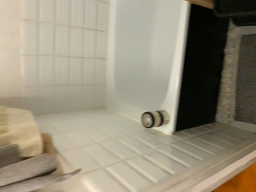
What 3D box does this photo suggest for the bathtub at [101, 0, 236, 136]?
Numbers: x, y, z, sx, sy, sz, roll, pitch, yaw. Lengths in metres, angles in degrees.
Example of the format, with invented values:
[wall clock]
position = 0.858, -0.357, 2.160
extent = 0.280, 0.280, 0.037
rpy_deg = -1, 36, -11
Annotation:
[bathtub]
position = 0.270, -0.520, 1.500
extent = 0.680, 0.560, 1.350
rpy_deg = 17, 107, 47
